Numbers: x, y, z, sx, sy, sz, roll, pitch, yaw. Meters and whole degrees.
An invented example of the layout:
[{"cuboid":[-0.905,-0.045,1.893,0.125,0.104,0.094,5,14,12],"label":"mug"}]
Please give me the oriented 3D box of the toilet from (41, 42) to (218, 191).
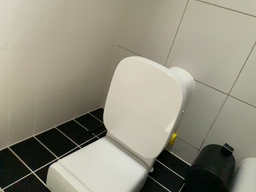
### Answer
[{"cuboid":[0.040,0.130,1.060,0.380,0.750,0.650,30,119,24],"label":"toilet"}]
